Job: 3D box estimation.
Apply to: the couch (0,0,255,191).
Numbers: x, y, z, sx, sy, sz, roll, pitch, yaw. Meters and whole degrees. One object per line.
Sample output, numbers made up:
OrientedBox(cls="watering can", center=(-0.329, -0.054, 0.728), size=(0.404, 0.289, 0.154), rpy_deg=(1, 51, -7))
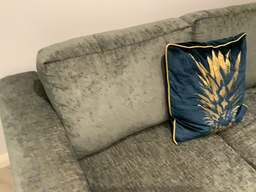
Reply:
OrientedBox(cls="couch", center=(0.400, 0.150, 1.070), size=(1.740, 0.760, 1.010), rpy_deg=(-20, 49, -21))
